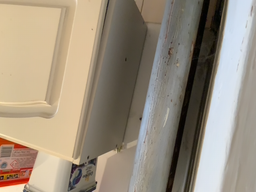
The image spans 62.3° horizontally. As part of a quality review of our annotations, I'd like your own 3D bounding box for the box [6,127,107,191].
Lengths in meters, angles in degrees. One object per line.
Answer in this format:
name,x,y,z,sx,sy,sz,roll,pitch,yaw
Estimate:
box,-0.190,0.250,0.590,0.140,0.280,0.240,11,179,13
